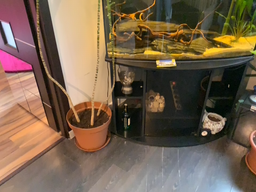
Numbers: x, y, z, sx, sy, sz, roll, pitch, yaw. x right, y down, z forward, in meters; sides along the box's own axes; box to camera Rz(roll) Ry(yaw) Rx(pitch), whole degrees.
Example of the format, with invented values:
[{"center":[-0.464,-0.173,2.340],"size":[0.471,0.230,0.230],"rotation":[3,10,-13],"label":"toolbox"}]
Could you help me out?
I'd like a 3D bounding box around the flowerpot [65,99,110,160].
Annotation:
[{"center":[-0.330,0.260,1.720],"size":[0.270,0.300,0.320],"rotation":[-12,36,-16],"label":"flowerpot"}]
